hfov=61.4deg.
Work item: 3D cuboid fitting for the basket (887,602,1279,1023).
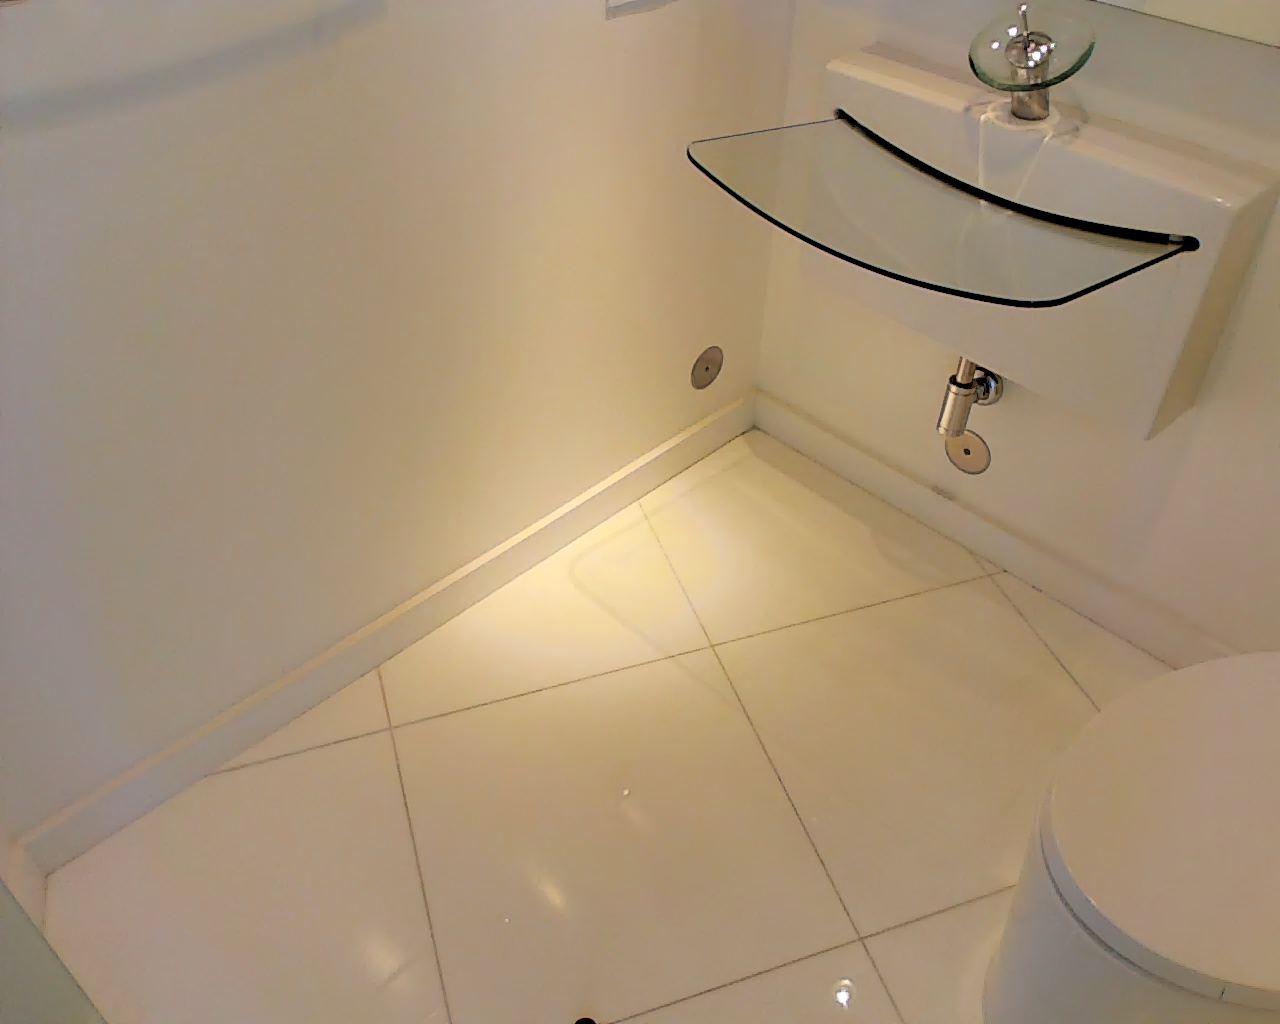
[{"bbox_3d":[0.770,0.510,1.410,0.640,0.490,0.500,-14,43,-16],"label":"basket"}]
